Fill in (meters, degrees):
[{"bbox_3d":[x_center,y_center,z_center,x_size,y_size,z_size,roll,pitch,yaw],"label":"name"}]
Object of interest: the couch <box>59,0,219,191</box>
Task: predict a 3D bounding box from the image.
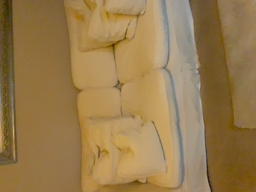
[{"bbox_3d":[-0.010,-0.070,1.870,0.990,0.800,2.110,-15,79,57],"label":"couch"}]
